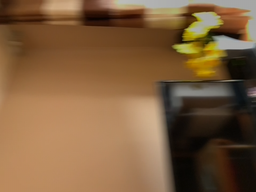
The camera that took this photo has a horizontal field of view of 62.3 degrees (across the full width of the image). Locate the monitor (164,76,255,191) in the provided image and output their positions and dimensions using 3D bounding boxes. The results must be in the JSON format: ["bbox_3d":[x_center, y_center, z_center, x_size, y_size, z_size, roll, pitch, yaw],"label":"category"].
[{"bbox_3d":[0.480,0.270,1.030,0.050,0.500,0.890,93,176,-57],"label":"monitor"}]
